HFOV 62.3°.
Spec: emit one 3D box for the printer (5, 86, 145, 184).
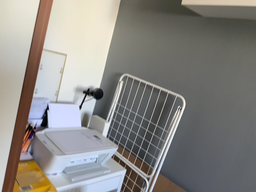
[{"bbox_3d":[-0.340,0.190,1.370,0.600,0.310,0.600,22,10,40],"label":"printer"}]
